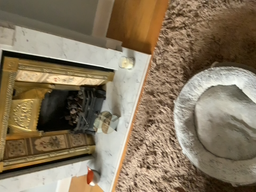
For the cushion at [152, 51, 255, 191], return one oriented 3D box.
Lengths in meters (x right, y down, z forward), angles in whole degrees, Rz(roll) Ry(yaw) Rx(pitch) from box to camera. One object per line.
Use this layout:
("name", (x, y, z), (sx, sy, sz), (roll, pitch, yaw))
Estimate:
("cushion", (0.550, 0.150, 1.230), (0.720, 0.150, 0.680), (24, 105, 40))
